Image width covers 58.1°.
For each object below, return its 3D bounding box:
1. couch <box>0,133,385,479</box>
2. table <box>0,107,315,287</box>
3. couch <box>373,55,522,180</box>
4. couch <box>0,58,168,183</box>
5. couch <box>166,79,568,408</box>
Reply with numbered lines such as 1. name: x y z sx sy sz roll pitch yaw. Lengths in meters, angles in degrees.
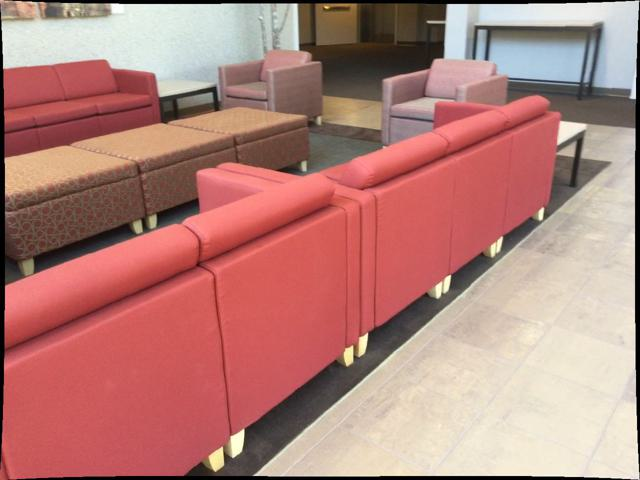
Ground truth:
1. couch: -0.559 0.230 1.860 0.809 0.781 1.519 17 29 36
2. table: -1.098 -0.441 3.870 0.819 0.461 2.349 17 29 36
3. couch: 1.058 -1.072 4.830 0.849 0.801 0.910 17 29 36
4. couch: -2.426 -1.092 5.050 0.839 0.761 1.939 17 29 36
5. couch: 0.409 -0.220 2.850 0.809 0.821 2.129 17 29 36
